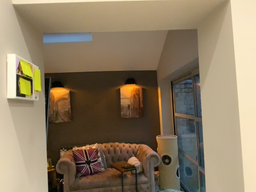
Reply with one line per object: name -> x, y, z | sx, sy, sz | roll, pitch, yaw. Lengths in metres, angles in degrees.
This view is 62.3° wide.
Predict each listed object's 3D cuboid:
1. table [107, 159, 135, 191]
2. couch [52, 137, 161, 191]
table -> -0.110, 1.350, 3.230 | 0.260, 0.650, 0.390 | -1, -2, -32
couch -> -0.350, 1.260, 3.610 | 1.590, 0.860, 0.940 | -2, -2, -8
